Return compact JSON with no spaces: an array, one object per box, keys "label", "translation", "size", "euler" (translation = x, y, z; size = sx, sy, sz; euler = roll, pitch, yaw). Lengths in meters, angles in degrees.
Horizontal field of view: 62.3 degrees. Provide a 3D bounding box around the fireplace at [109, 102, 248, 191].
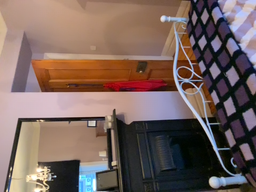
[{"label":"fireplace","translation":[0.440,0.580,2.250],"size":[0.300,1.200,0.980],"euler":[103,162,-55]}]
